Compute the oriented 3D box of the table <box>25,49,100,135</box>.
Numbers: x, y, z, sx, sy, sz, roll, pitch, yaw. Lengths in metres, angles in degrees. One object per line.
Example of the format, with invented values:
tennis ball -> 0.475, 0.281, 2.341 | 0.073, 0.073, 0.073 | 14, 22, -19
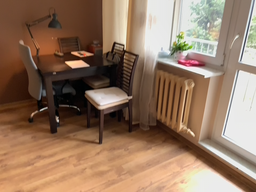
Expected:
table -> -0.910, -0.140, 2.890 | 0.630, 0.760, 1.060 | -13, 27, -31
